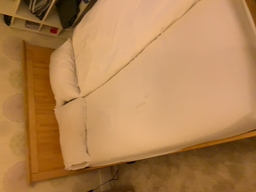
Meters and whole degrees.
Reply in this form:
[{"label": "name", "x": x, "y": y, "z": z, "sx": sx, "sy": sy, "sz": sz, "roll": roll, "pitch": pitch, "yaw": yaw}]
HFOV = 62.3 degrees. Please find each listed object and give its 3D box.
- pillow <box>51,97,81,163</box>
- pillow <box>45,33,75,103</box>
[{"label": "pillow", "x": -0.620, "y": 0.340, "z": 2.080, "sx": 0.380, "sy": 0.100, "sz": 0.570, "roll": -28, "pitch": 66, "yaw": 47}, {"label": "pillow", "x": -0.730, "y": -0.280, "z": 2.230, "sx": 0.350, "sy": 0.140, "sz": 0.630, "roll": -28, "pitch": 66, "yaw": 47}]
